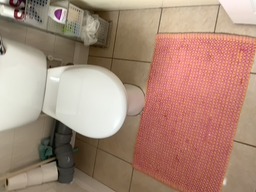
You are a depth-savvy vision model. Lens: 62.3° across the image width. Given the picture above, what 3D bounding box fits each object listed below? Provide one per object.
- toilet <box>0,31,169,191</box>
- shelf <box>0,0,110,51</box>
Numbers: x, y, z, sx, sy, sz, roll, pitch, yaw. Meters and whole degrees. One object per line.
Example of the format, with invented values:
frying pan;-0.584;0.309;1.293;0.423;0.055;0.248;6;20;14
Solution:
toilet;-0.310;0.000;1.170;0.720;0.770;0.510;13;97;34
shelf;-0.440;-0.450;1.250;0.200;0.770;0.220;11;95;35
